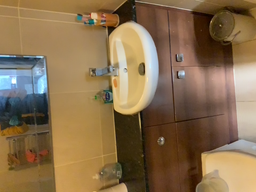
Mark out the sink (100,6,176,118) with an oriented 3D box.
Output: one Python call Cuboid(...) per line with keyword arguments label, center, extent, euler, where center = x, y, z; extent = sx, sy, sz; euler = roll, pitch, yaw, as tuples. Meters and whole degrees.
Cuboid(label="sink", center=(0.030, -0.150, 1.160), extent=(0.430, 0.180, 0.490), euler=(-2, 92, 60))
